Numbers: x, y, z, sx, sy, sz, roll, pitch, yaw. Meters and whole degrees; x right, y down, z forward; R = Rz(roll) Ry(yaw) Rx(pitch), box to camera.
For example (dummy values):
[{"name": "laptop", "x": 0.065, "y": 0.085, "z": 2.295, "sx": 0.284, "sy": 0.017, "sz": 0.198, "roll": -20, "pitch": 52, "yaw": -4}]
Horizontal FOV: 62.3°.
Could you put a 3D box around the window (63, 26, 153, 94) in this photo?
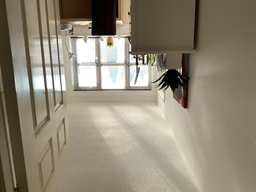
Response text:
[{"name": "window", "x": -0.400, "y": -0.760, "z": 4.560, "sx": 1.830, "sy": 1.380, "sz": 0.230, "roll": 0, "pitch": -168, "yaw": 2}]
